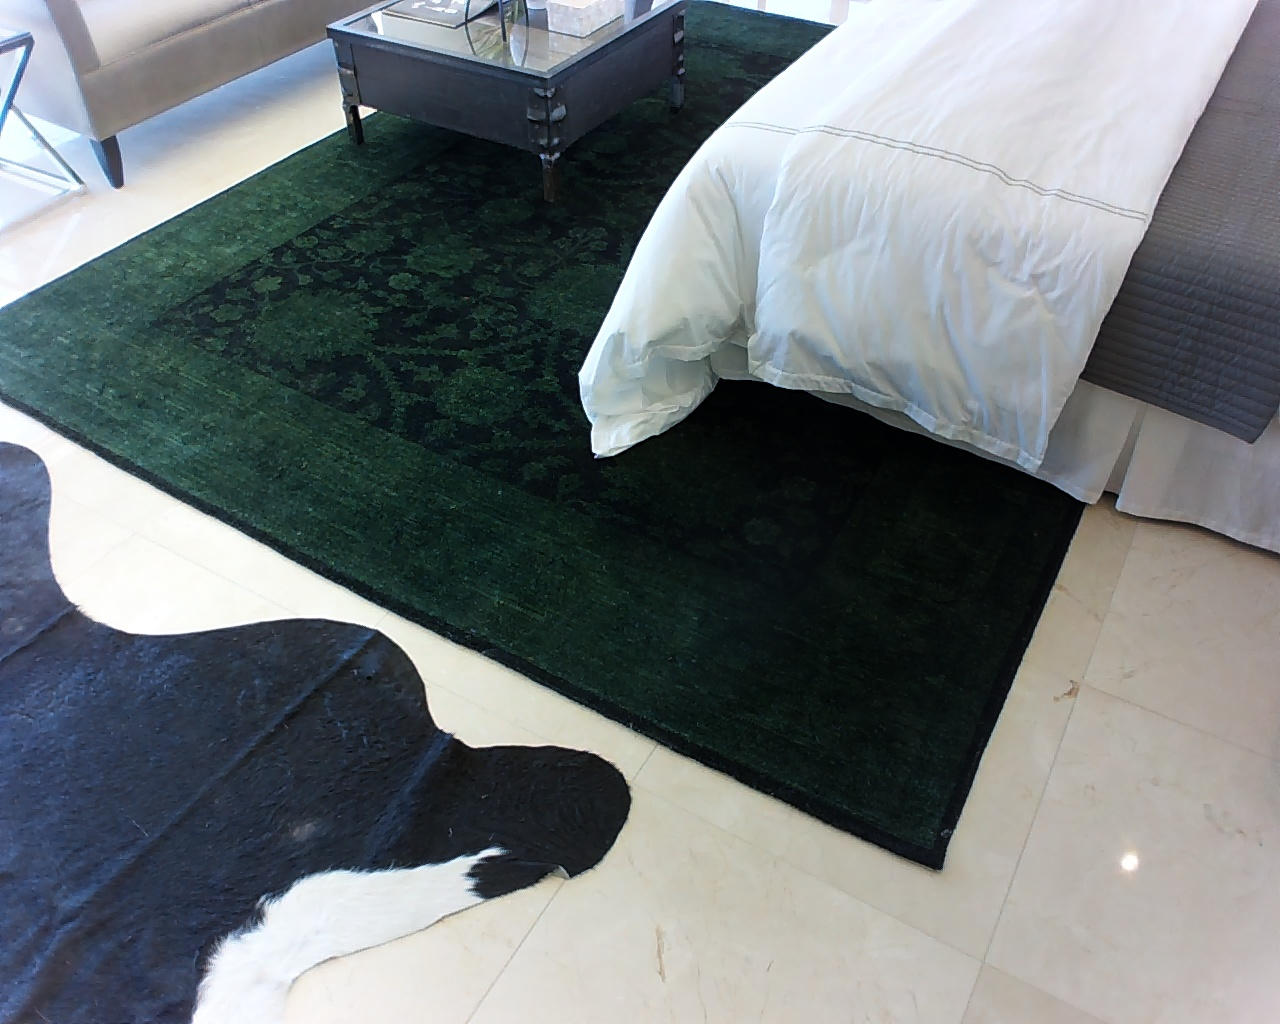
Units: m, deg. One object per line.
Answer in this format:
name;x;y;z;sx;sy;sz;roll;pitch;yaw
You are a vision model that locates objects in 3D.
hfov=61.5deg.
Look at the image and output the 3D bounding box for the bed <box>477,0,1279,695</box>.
bed;1.360;-1.000;2.630;2.290;1.040;2.650;20;46;21
